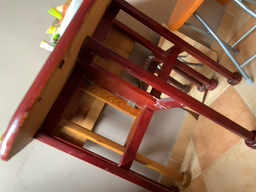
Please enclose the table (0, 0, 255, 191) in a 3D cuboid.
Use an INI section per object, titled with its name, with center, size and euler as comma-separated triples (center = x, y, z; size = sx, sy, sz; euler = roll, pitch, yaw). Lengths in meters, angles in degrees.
[table]
center = 0.120, 0.000, 0.780
size = 0.700, 0.750, 0.690
euler = -65, 14, -14
